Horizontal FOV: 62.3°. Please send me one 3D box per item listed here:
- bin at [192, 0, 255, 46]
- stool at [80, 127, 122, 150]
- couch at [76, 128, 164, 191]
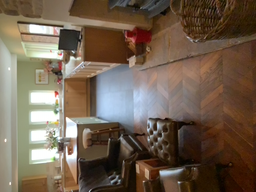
[{"bbox_3d":[0.840,-0.670,1.600,0.420,0.530,0.460,-175,86,-67],"label":"bin"},{"bbox_3d":[-0.570,0.880,4.460,0.400,0.800,0.350,179,91,-67],"label":"stool"},{"bbox_3d":[-0.180,1.110,3.200,0.820,1.030,0.930,-144,57,-62],"label":"couch"}]
